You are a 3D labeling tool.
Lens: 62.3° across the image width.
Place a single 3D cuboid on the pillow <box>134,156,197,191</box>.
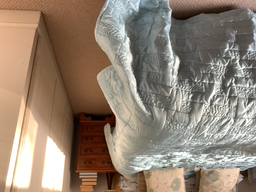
[{"bbox_3d":[0.360,0.880,2.070,0.450,0.390,0.170,-18,152,-19],"label":"pillow"}]
